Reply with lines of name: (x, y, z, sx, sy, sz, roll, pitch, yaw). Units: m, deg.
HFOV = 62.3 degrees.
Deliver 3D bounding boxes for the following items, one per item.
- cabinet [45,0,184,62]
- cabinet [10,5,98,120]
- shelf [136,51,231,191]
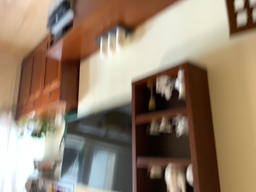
cabinet: (-0.180, -0.780, 1.650, 0.350, 0.570, 1.350, 11, 162, -41)
cabinet: (-1.010, -0.280, 2.730, 0.440, 1.000, 1.490, 11, 162, -41)
shelf: (0.250, 0.200, 1.090, 0.150, 0.740, 0.420, 11, 162, -41)
